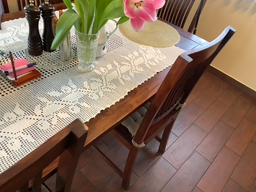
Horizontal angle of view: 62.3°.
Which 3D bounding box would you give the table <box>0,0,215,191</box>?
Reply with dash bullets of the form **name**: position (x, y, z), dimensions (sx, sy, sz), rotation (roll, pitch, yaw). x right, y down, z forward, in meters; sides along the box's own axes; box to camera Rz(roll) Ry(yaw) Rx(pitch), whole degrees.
- **table**: position (-0.440, 0.090, 1.170), dimensions (0.920, 0.770, 1.740), rotation (36, 46, 22)
